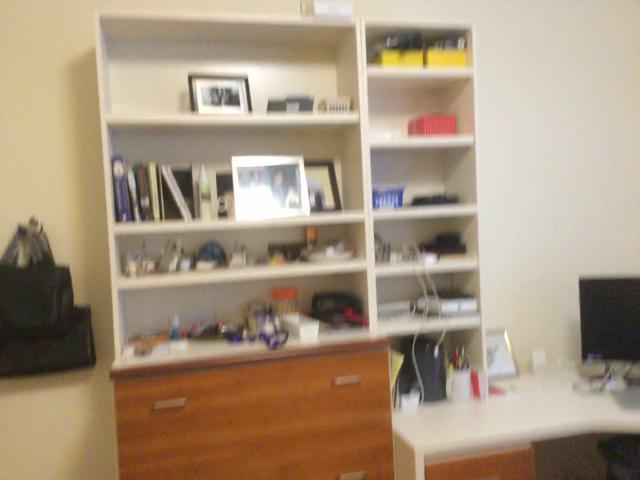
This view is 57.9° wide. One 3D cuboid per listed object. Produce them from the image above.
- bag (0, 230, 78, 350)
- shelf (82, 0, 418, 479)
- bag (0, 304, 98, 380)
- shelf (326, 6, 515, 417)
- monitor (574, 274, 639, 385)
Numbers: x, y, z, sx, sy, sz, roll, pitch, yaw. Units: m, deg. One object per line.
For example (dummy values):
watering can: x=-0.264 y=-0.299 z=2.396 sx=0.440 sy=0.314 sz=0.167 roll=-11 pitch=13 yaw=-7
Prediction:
bag: x=-1.000 y=0.160 z=1.930 sx=0.310 sy=0.370 sz=0.190 roll=-3 pitch=2 yaw=-16
shelf: x=-0.230 y=0.260 z=2.030 sx=0.960 sy=2.190 sz=0.510 roll=-3 pitch=2 yaw=-16
bag: x=-0.960 y=0.350 z=2.010 sx=0.330 sy=0.210 sz=0.130 roll=-3 pitch=2 yaw=-16
shelf: x=0.380 y=-0.110 z=2.240 sx=0.570 sy=1.420 sz=0.340 roll=-3 pitch=2 yaw=-16
monitor: x=1.310 y=0.350 z=2.310 sx=0.500 sy=0.410 sz=0.200 roll=-2 pitch=2 yaw=11
